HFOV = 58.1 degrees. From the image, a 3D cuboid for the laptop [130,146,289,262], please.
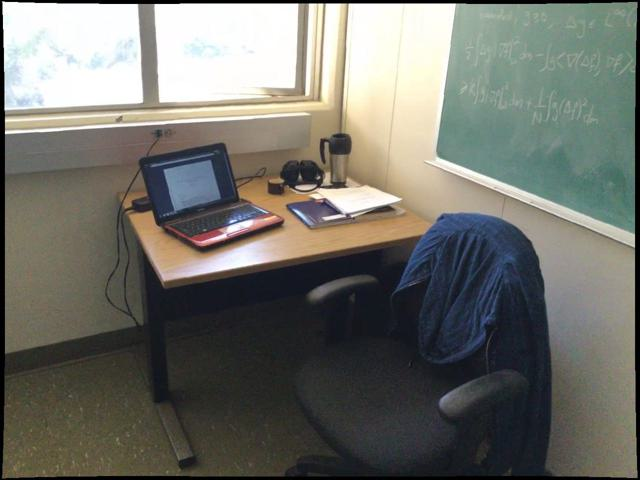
[{"bbox_3d":[-0.369,-0.140,1.930,0.350,0.210,0.410,-19,31,-37],"label":"laptop"}]
